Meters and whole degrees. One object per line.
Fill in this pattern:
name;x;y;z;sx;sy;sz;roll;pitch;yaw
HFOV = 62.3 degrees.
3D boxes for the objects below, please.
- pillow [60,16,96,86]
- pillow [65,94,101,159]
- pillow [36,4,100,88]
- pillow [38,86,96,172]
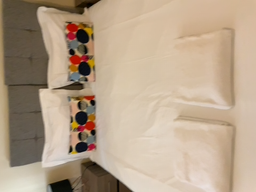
pillow;-0.480;-0.420;2.050;0.160;0.310;0.630;-115;26;-84
pillow;-0.440;0.290;2.120;0.190;0.330;0.610;-168;78;-81
pillow;-0.590;-0.470;2.130;0.220;0.570;0.740;19;110;61
pillow;-0.620;0.310;2.200;0.230;0.540;0.830;-164;74;-75
